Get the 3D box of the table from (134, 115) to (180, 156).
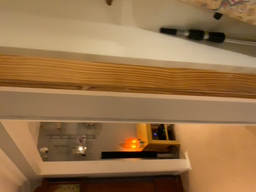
[{"bbox_3d":[0.450,0.670,3.530,0.540,0.560,0.500,114,156,-57],"label":"table"}]
